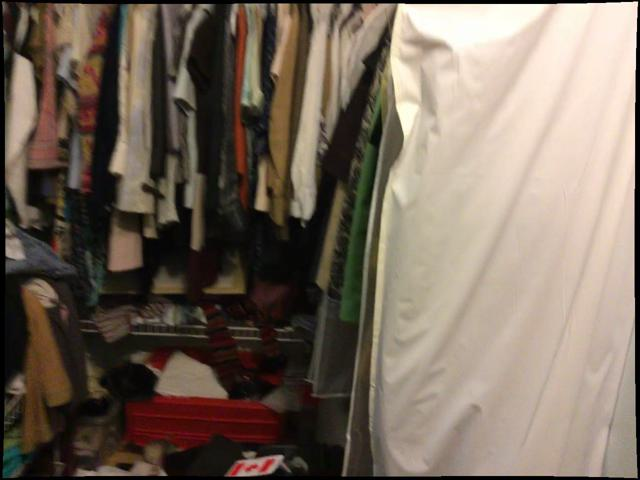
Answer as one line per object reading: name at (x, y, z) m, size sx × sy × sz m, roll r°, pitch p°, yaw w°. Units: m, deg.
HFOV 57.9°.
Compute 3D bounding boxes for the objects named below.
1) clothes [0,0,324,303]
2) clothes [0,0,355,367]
clothes at (-0.490, -0.350, 1.820) m, size 0.949 × 0.841 × 0.670 m, roll 4°, pitch 16°, yaw -1°
clothes at (-0.490, -0.280, 1.860) m, size 1.099 × 1.111 × 0.630 m, roll 4°, pitch 16°, yaw -1°
